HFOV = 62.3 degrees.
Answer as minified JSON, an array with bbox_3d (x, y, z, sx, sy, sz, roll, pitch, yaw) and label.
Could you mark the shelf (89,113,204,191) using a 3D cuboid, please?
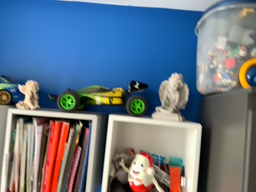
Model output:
[{"bbox_3d":[0.070,0.280,0.910,0.400,0.370,0.250,5,-3,2],"label":"shelf"}]
